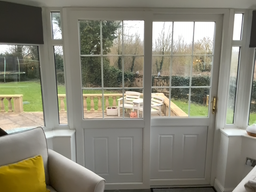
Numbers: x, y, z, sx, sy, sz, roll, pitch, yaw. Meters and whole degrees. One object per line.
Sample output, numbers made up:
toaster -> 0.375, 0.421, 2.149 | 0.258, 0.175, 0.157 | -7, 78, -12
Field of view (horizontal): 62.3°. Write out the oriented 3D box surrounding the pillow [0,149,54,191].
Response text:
pillow -> -0.910, 0.700, 1.780 | 0.410, 0.320, 0.190 | -30, 13, -40

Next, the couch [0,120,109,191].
couch -> -0.810, 0.840, 1.690 | 0.950, 0.940, 0.920 | 10, 15, 42
